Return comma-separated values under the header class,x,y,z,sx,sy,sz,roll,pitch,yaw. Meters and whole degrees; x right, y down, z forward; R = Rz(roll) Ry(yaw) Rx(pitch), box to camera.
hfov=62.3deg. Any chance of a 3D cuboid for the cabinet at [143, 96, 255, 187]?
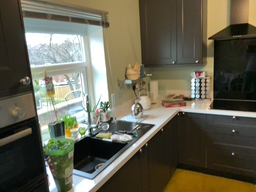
class,x,y,z,sx,sy,sz,roll,pitch,yaw
cabinet,1.030,0.520,2.850,1.480,0.850,0.660,2,13,25
